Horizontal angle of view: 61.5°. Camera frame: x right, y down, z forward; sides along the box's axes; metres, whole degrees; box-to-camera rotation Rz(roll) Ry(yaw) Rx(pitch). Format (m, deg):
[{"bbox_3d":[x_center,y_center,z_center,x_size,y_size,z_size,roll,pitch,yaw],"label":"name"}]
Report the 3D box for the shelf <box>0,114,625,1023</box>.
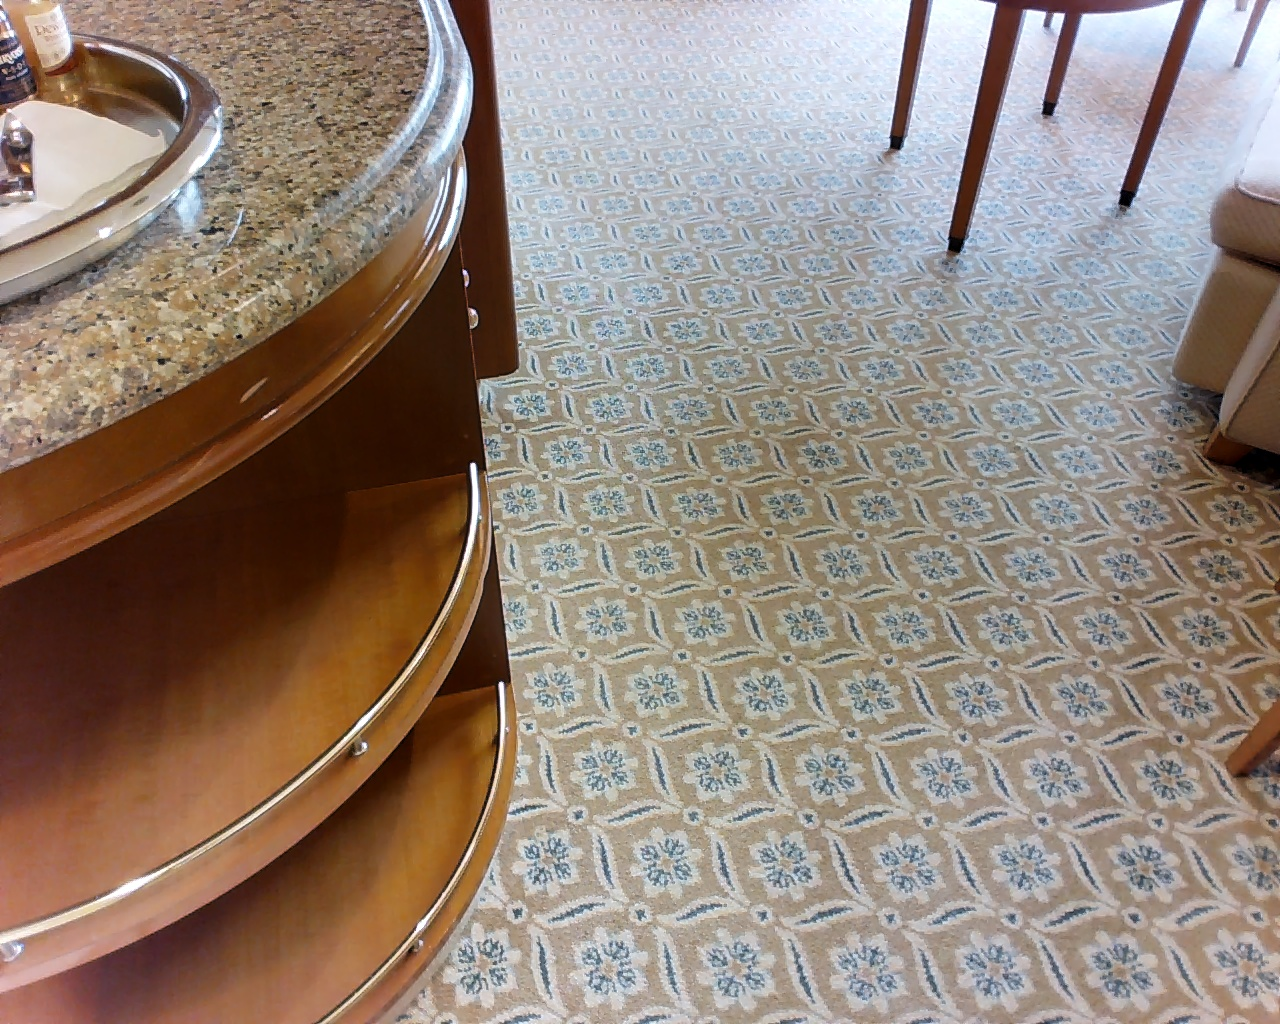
[{"bbox_3d":[-0.320,0.180,0.930,0.530,0.830,0.470,-8,44,-9],"label":"shelf"}]
